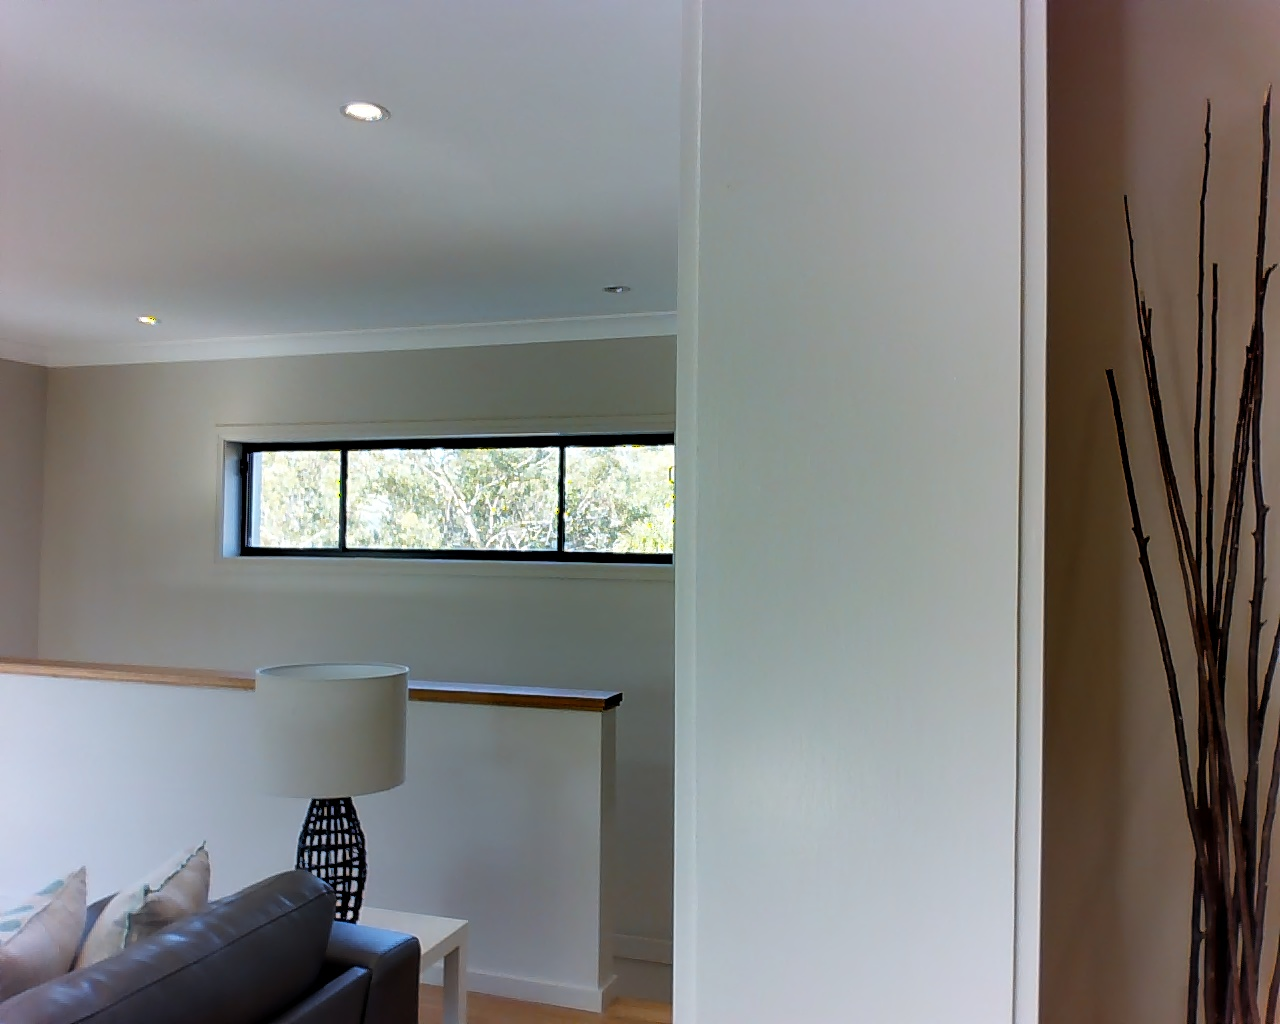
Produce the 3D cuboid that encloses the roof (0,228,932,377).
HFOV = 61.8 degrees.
[{"bbox_3d":[-1.160,-0.830,4.670,4.649,0.130,1.050,0,-2,18],"label":"roof"}]
